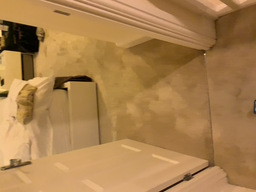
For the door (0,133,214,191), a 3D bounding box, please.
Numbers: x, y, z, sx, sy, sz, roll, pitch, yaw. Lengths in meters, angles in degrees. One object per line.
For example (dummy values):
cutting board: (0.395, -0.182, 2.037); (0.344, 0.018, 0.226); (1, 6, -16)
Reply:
door: (-0.470, 0.410, 0.960); (0.860, 2.000, 0.040); (5, 95, 46)
